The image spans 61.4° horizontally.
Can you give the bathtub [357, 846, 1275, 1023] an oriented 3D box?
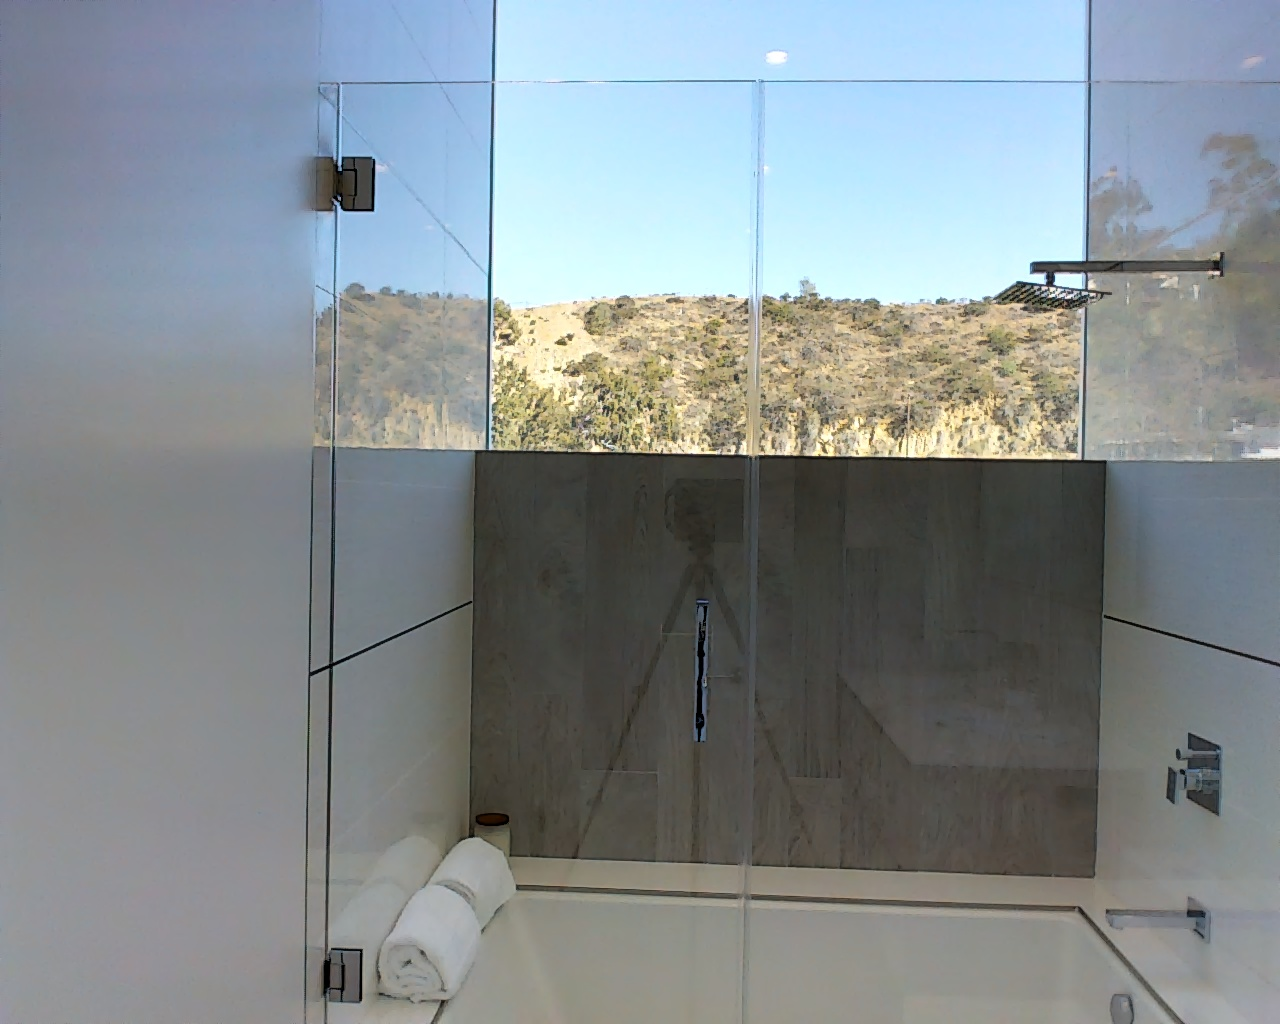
[{"bbox_3d":[0.360,1.250,2.360,1.750,0.560,1.320,1,0,3],"label":"bathtub"}]
